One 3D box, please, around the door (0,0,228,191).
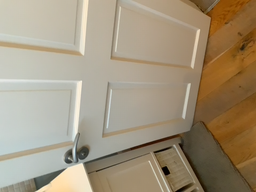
[{"bbox_3d":[-0.210,-0.060,0.750,0.200,2.140,0.860,18,104,41],"label":"door"}]
